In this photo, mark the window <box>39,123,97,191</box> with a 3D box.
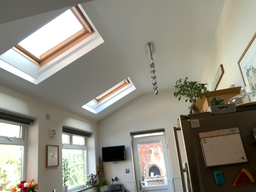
[{"bbox_3d":[-1.170,1.340,4.460,0.290,1.290,1.750,-9,-17,13],"label":"window"}]
